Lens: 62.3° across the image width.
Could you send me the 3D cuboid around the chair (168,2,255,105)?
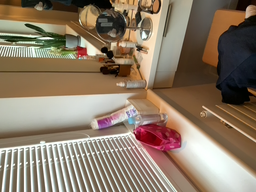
[{"bbox_3d":[0.650,-0.240,1.160,0.430,0.650,0.390,-133,47,-54],"label":"chair"}]
